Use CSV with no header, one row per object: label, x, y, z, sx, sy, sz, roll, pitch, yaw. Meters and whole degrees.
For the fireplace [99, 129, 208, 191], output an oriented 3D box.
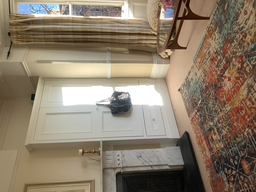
fireplace,0.280,1.390,2.620,0.740,1.240,1.770,99,168,-53
